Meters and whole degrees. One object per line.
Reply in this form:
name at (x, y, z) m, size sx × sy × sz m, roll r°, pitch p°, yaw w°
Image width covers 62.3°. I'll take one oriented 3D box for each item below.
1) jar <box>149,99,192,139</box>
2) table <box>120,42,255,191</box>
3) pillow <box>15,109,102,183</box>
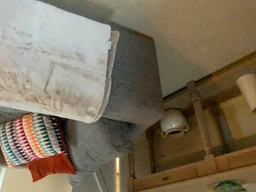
jar at (0.420, 0.240, 2.140) m, size 0.290 × 0.240 × 0.270 m, roll -30°, pitch 138°, yaw 34°
table at (0.700, 0.270, 1.810) m, size 1.690 × 0.830 × 0.450 m, roll -30°, pitch 138°, yaw 34°
pillow at (-0.540, 0.400, 1.690) m, size 0.570 × 0.470 × 0.170 m, roll -22°, pitch 120°, yaw 30°
